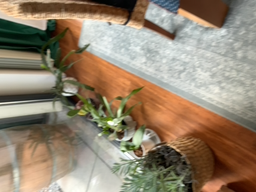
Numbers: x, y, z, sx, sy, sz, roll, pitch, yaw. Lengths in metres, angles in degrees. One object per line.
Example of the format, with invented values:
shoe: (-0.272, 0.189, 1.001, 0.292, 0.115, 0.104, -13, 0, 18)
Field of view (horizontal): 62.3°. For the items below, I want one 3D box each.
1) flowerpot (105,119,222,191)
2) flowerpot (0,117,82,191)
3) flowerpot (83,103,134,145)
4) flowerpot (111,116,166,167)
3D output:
flowerpot: (0.220, 0.430, 1.260, 0.340, 0.510, 0.390, 39, 118, 32)
flowerpot: (-1.080, 0.660, 2.050, 0.610, 0.980, 0.730, -12, 85, 41)
flowerpot: (-0.160, 0.210, 1.710, 0.300, 0.240, 0.200, 25, 110, 37)
flowerpot: (0.070, 0.330, 1.560, 0.270, 0.200, 0.230, -44, 65, 35)
